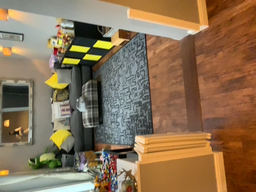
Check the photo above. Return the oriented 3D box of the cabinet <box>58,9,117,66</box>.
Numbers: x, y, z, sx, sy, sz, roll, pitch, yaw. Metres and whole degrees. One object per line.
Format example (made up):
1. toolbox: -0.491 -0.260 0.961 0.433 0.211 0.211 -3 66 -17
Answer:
1. cabinet: -0.880 -1.050 4.200 1.530 0.740 0.430 -19 73 61

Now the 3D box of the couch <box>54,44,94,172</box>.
1. couch: -1.390 0.300 5.270 1.200 0.630 2.780 -18 73 61
